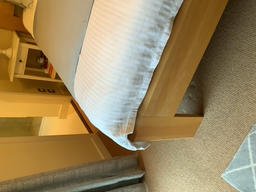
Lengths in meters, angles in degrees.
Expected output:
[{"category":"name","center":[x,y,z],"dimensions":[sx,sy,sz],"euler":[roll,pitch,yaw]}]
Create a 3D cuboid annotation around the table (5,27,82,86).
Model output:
[{"category":"table","center":[-0.980,-0.430,2.450],"dimensions":[0.360,0.690,0.460],"euler":[43,119,46]}]
